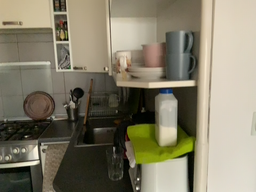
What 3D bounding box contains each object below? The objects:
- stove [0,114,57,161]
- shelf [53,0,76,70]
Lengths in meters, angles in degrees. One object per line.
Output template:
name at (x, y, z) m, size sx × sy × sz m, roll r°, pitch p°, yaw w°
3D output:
stove at (-0.920, 0.330, 1.810) m, size 0.480 × 0.170 × 0.620 m, roll -2°, pitch 10°, yaw -7°
shelf at (-0.560, -0.710, 1.860) m, size 0.120 × 0.950 × 0.280 m, roll -2°, pitch 10°, yaw -7°
